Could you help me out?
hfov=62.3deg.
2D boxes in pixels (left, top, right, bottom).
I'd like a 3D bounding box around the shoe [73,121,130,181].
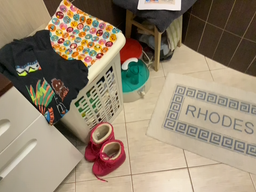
[{"bbox_3d":[-0.130,0.290,1.120,0.190,0.150,0.200,36,69,22],"label":"shoe"}]
